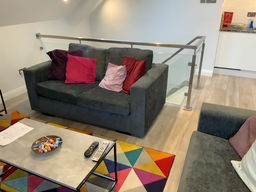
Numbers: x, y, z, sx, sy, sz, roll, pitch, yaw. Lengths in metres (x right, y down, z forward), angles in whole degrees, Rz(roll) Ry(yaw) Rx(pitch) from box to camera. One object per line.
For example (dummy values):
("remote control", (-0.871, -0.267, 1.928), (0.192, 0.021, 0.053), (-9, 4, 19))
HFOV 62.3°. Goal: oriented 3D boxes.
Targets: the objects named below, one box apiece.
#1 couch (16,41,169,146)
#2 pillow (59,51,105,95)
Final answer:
("couch", (-0.420, -0.170, 2.850), (1.650, 0.840, 0.980), (11, 27, 24))
("pillow", (-0.630, -0.320, 2.950), (0.420, 0.430, 0.220), (-35, 6, 11))
